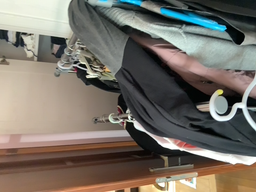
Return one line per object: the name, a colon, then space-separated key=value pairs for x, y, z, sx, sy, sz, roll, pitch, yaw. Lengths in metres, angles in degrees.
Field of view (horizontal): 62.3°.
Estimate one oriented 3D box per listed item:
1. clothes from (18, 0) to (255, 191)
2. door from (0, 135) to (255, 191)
clothes: x=0.390 y=0.010 z=1.210 sx=1.180 sy=1.740 sz=0.550 roll=161 pitch=109 yaw=-64
door: x=0.100 y=0.380 z=1.370 sx=0.810 sy=2.160 sz=0.120 roll=164 pitch=106 yaw=-64
